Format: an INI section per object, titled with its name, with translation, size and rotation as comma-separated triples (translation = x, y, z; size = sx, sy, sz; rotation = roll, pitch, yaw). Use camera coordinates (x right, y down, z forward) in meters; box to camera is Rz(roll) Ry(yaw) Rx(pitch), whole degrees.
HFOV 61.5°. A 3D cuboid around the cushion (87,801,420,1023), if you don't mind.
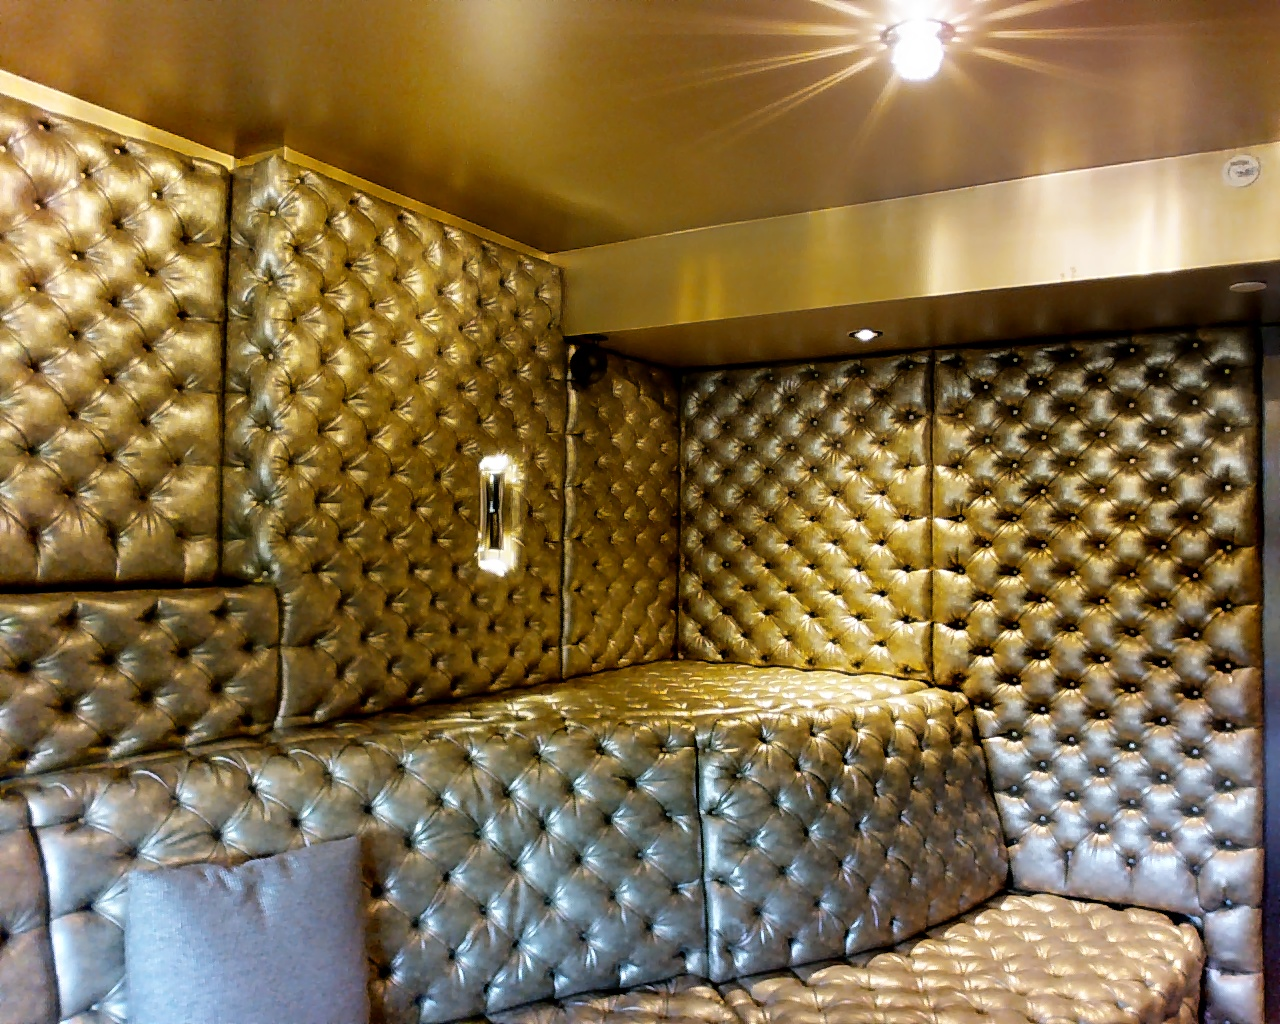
[cushion]
translation = -0.750, 0.900, 2.140
size = 0.270, 0.530, 0.520
rotation = -14, -9, 38
